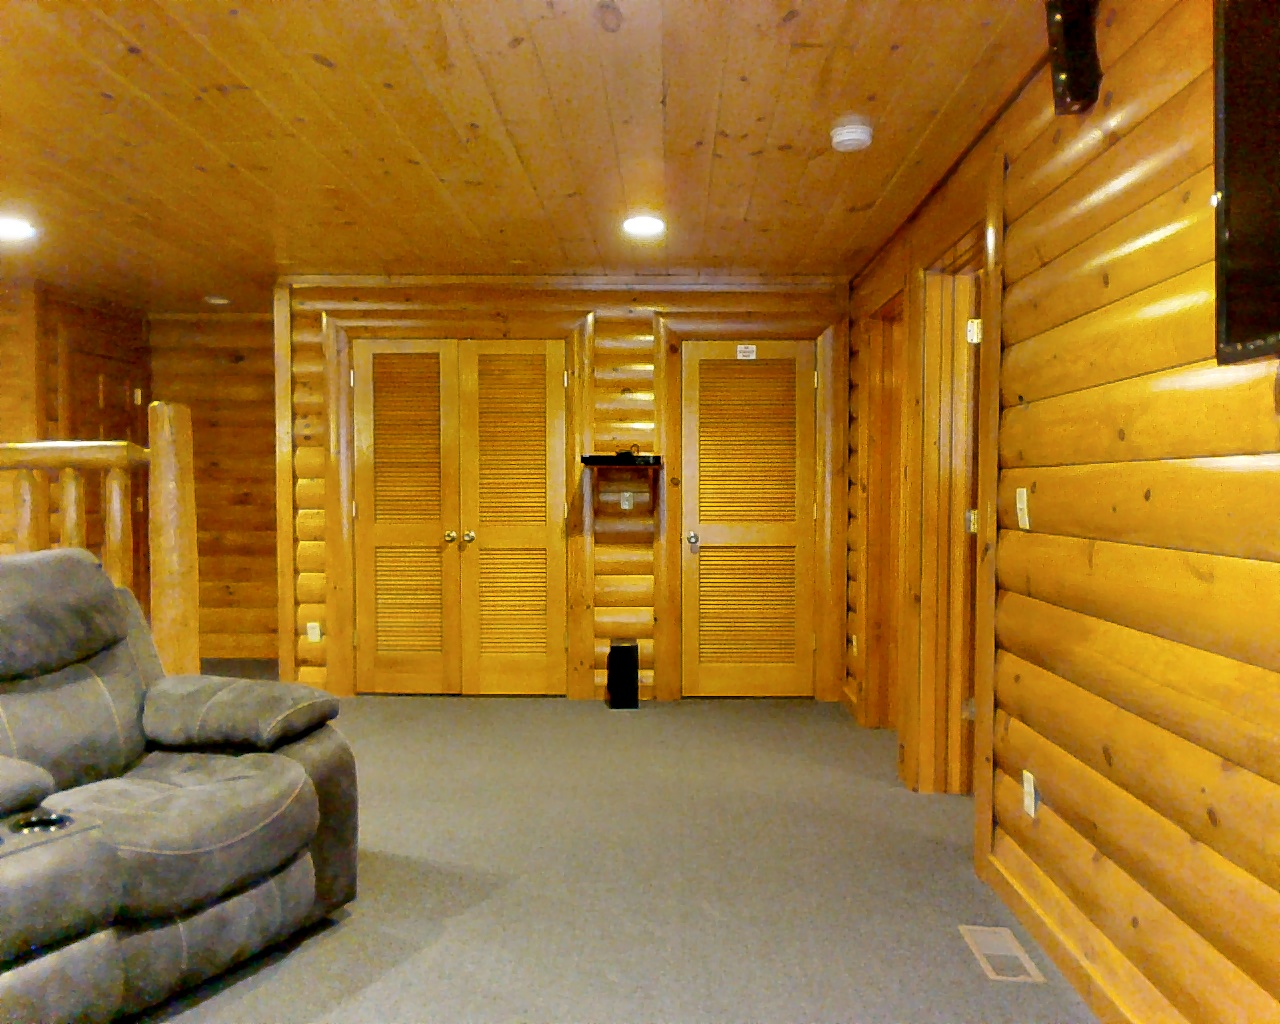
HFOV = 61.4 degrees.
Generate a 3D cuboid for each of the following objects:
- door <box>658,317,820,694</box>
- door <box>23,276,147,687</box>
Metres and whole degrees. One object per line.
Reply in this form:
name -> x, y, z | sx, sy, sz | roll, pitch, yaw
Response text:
door -> 0.560, -0.030, 6.130 | 0.910, 2.131, 0.080 | 0, 2, 1
door -> -3.529, -0.190, 6.920 | 0.100, 2.401, 1.240 | 0, 2, 1
